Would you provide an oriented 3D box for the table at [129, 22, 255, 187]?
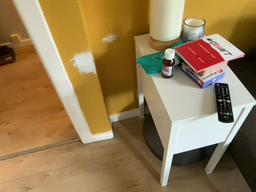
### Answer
[{"bbox_3d":[0.250,0.070,1.130,0.350,0.660,0.530,-12,51,-6],"label":"table"}]
